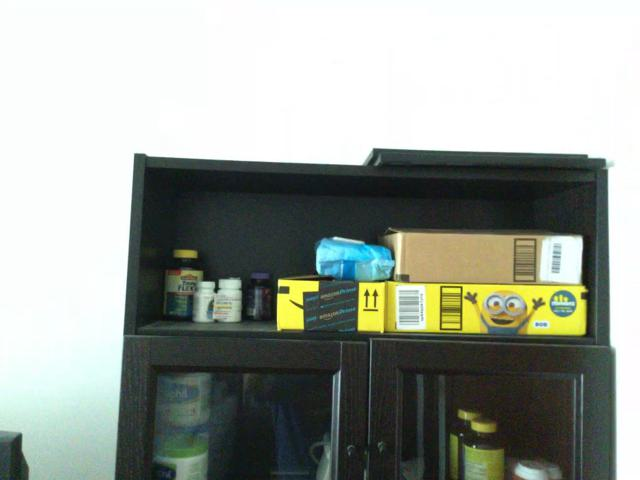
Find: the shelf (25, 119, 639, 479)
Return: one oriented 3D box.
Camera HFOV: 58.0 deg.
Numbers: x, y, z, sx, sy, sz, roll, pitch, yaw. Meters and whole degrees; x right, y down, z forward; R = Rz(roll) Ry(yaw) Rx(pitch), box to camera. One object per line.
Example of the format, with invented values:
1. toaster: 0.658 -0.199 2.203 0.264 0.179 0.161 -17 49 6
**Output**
1. shelf: 0.050 0.840 0.970 0.950 1.970 0.440 1 -8 -5
